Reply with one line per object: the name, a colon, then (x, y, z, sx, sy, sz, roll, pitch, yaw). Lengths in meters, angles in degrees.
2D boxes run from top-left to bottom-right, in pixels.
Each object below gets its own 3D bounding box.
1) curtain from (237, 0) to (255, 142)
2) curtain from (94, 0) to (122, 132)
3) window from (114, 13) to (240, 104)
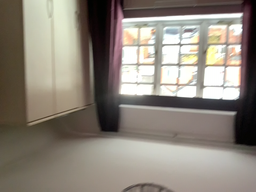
curtain: (1.550, -0.510, 2.480, 0.320, 2.100, 0.150, 3, -174, 15)
curtain: (-0.270, -0.570, 2.890, 0.290, 2.090, 0.230, 3, -174, 16)
window: (0.620, -0.530, 3.040, 1.690, 1.180, 0.050, 3, -174, 15)
